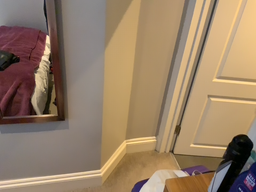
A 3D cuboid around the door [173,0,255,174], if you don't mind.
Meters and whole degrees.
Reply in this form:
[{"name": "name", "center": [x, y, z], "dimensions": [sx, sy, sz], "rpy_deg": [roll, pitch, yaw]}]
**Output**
[{"name": "door", "center": [0.960, -0.160, 1.600], "dimensions": [0.800, 2.050, 0.130], "rpy_deg": [5, 32, -3]}]
